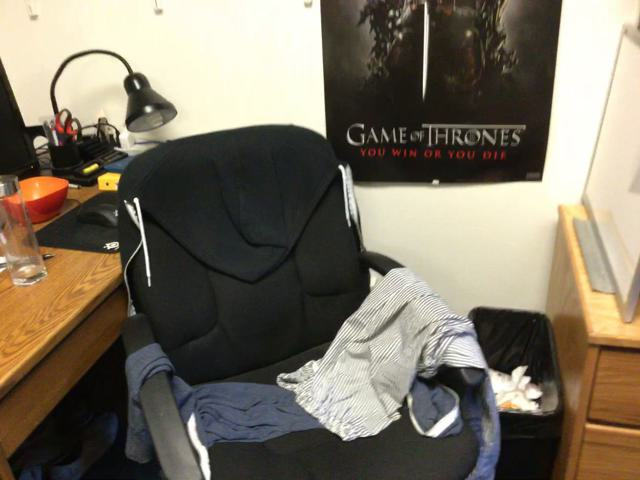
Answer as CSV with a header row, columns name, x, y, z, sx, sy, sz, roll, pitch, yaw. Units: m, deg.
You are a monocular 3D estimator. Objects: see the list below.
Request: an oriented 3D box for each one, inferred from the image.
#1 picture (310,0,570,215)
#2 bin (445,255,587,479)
name,x,y,z,sx,sy,sz,roll,pitch,yaw
picture,0.290,-0.590,1.470,0.640,1.090,0.040,4,26,13
bin,0.480,0.390,1.520,0.260,0.520,0.480,4,26,13
